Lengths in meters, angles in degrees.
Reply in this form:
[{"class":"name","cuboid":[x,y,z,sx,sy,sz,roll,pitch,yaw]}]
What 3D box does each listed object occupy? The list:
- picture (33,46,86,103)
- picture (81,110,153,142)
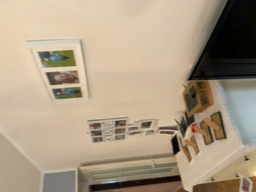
[{"class":"picture","cuboid":[-0.380,-0.110,1.250,0.410,0.220,0.060,96,168,-53]},{"class":"picture","cuboid":[-0.100,0.290,1.970,0.490,0.600,0.030,97,167,-55]}]
